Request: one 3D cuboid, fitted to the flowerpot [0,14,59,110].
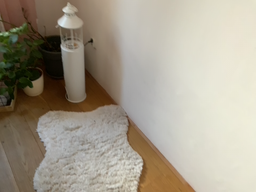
[{"bbox_3d":[-0.740,-0.240,1.490,0.340,0.510,0.320,-23,52,-31],"label":"flowerpot"}]
